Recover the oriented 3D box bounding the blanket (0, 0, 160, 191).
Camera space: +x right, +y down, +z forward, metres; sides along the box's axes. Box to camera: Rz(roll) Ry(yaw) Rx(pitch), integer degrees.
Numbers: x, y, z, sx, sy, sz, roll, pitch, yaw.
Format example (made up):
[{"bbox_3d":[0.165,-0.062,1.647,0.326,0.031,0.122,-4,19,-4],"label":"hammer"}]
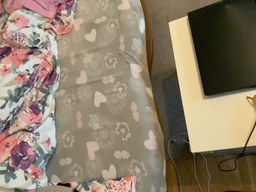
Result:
[{"bbox_3d":[-0.490,-0.010,1.080,1.180,0.170,1.800,-11,71,21],"label":"blanket"}]
